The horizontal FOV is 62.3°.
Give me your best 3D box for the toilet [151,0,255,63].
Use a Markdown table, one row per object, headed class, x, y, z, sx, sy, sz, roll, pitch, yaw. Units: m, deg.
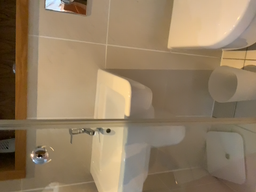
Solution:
| class | x | y | z | sx | sy | sz | roll | pitch | yaw |
| --- | --- | --- | --- | --- | --- | --- | --- | --- | --- |
| toilet | 0.490 | -0.400 | 1.060 | 0.560 | 0.490 | 0.420 | -150 | 63 | -64 |
